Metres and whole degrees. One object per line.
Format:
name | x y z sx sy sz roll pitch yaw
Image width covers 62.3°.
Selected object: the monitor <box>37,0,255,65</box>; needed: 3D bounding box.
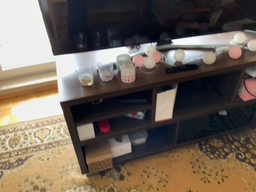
monitor | 0.200 -0.570 0.990 1.230 0.770 0.060 -9 41 -9
